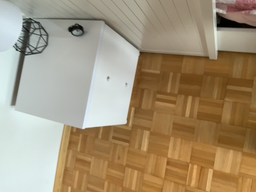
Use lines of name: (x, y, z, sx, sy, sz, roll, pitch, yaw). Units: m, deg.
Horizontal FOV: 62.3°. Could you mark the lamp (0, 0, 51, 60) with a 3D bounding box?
lamp: (-0.490, -0.280, 0.830, 0.200, 0.270, 0.200, 9, 90, 22)
